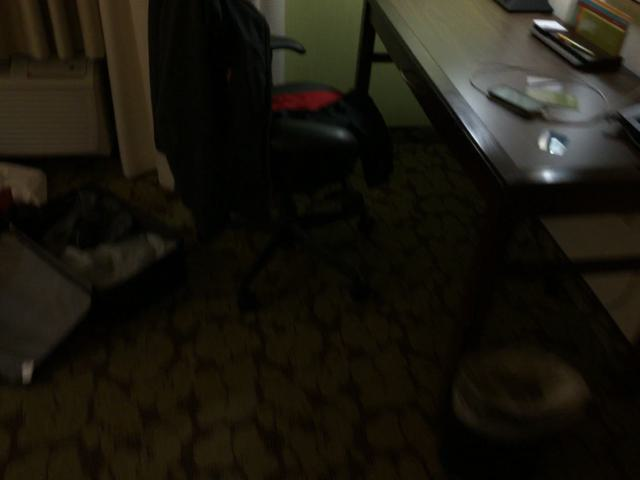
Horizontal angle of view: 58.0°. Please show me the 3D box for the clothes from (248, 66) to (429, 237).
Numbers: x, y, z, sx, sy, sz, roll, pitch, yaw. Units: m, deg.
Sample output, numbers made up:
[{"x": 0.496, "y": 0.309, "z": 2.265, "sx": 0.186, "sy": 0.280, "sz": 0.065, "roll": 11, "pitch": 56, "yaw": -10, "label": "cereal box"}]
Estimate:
[{"x": 0.030, "y": -0.290, "z": 1.800, "sx": 0.450, "sy": 0.340, "sz": 0.410, "roll": -5, "pitch": 39, "yaw": -10, "label": "clothes"}]

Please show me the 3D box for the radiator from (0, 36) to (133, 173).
[{"x": -1.270, "y": -0.490, "z": 2.160, "sx": 1.020, "sy": 0.440, "sz": 0.210, "roll": -5, "pitch": 39, "yaw": -10, "label": "radiator"}]

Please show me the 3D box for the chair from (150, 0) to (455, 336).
[{"x": -0.110, "y": -0.320, "z": 1.810, "sx": 0.670, "sy": 0.930, "sz": 0.710, "roll": -5, "pitch": 39, "yaw": -10, "label": "chair"}]

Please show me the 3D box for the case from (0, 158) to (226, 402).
[{"x": -0.790, "y": 0.060, "z": 1.850, "sx": 0.700, "sy": 0.180, "sz": 0.660, "roll": 31, "pitch": 46, "yaw": 31, "label": "case"}]
